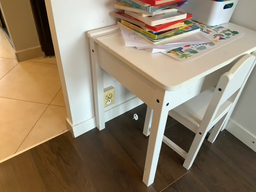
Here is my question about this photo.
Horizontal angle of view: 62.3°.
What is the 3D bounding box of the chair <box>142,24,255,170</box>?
[{"bbox_3d":[0.290,0.010,0.980,0.270,0.540,0.300,-28,48,-33],"label":"chair"}]
